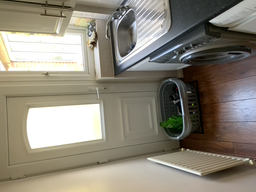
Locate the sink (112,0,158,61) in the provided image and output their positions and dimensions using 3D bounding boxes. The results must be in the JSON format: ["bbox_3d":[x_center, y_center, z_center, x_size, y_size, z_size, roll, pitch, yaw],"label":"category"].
[{"bbox_3d":[0.050,-0.580,1.950,0.430,0.220,0.410,167,100,-64],"label":"sink"}]

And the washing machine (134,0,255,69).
[{"bbox_3d":[0.600,-0.600,1.590,0.600,0.900,0.670,167,100,-64],"label":"washing machine"}]
